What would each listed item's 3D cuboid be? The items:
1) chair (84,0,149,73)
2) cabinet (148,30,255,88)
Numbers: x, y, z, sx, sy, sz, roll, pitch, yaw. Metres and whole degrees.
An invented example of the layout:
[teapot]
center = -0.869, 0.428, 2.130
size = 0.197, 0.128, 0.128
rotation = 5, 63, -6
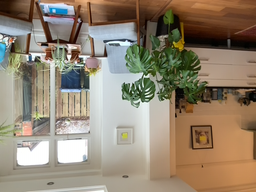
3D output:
[chair]
center = -0.100, -0.730, 2.730
size = 0.580, 0.750, 0.810
rotation = -1, 180, 17
[cabinet]
center = 1.480, -0.620, 3.990
size = 2.130, 0.920, 0.600
rotation = 0, 180, -14
